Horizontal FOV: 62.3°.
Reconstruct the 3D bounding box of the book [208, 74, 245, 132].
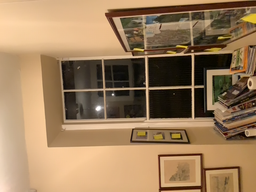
[{"bbox_3d":[0.890,0.050,1.950,0.280,0.220,0.500,-63,-29,-83],"label":"book"}]
